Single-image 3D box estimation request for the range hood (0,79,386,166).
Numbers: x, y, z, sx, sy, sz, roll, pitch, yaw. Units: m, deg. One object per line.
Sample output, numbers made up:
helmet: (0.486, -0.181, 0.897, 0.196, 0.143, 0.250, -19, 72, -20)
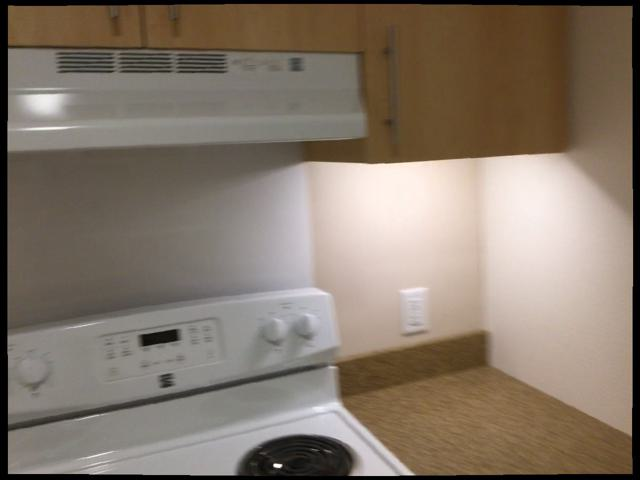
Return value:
range hood: (-0.240, -0.180, 0.880, 0.679, 0.100, 0.150, -7, 11, -20)
